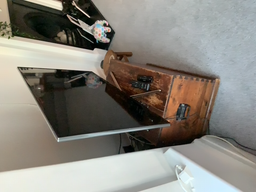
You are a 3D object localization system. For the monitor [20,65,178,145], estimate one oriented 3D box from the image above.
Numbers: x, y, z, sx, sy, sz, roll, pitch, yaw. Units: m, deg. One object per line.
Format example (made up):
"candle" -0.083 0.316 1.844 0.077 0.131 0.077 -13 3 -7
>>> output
"monitor" -0.240 -0.020 1.240 0.910 0.590 0.040 35 119 50
